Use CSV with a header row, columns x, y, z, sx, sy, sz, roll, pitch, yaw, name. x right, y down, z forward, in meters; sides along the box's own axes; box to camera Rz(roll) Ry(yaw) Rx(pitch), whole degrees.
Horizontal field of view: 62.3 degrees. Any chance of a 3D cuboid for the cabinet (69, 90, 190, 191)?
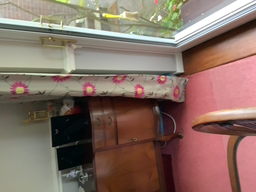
x,y,z,sx,sy,sz,roll,pitch,yaw,name
0.040,0.810,1.870,0.520,0.840,1.640,-15,79,58,cabinet
